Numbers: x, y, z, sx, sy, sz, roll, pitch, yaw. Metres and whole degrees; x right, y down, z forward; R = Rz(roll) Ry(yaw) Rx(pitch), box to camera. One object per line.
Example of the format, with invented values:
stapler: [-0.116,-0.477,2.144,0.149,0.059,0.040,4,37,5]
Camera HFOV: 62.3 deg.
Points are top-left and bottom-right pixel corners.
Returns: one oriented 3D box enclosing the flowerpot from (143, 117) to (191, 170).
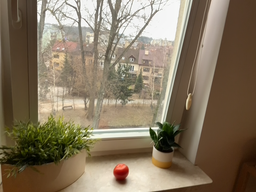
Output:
flowerpot: [0.190,0.230,1.060,0.170,0.210,0.120,-2,18,-27]

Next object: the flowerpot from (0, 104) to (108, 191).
flowerpot: [-0.320,0.220,0.880,0.370,0.280,0.290,-2,18,-27]
